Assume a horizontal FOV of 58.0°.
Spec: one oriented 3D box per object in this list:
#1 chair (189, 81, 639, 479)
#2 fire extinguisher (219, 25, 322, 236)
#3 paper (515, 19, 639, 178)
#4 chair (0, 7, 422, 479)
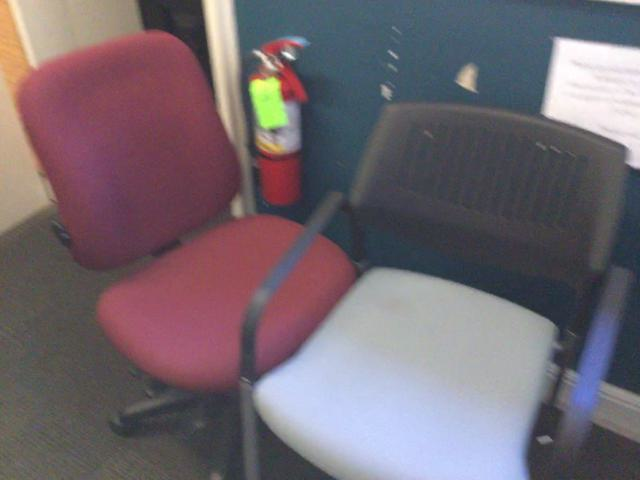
[{"bbox_3d":[0.220,0.240,1.120,0.590,0.820,0.580,17,41,21],"label":"chair"},{"bbox_3d":[-0.110,-0.260,1.430,0.190,0.470,0.130,22,43,25],"label":"fire extinguisher"},{"bbox_3d":[0.530,-0.240,1.030,0.300,0.220,0.030,26,44,22],"label":"paper"},{"bbox_3d":[-0.240,0.070,1.300,0.630,0.910,0.550,31,48,34],"label":"chair"}]
